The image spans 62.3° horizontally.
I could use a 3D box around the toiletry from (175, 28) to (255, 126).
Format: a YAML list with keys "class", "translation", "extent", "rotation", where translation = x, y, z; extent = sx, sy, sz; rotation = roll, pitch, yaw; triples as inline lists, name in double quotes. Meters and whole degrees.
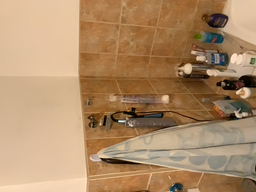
- class: "toiletry"
  translation: [0.580, -0.150, 1.320]
  extent: [0.580, 0.270, 0.380]
  rotation: [-115, 29, -57]
